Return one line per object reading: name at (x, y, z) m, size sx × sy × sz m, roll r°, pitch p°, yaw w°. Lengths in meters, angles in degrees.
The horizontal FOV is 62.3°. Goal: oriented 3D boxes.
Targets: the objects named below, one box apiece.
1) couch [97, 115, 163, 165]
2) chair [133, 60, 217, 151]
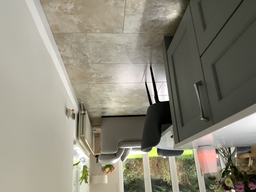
couch at (-0.020, 0.910, 4.200) m, size 1.110 × 0.780 × 1.090 m, roll -1°, pitch 159°, yaw -6°
chair at (0.420, 0.120, 2.220) m, size 0.650 × 0.810 × 0.540 m, roll -2°, pitch 160°, yaw -4°
